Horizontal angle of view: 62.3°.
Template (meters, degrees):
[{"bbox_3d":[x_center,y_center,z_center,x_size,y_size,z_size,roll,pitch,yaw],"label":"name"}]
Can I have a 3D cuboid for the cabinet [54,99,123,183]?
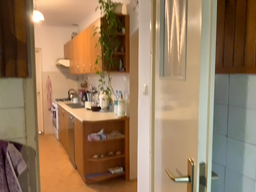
[{"bbox_3d":[-0.810,0.600,3.730,0.590,0.840,2.040,-3,7,-28],"label":"cabinet"}]

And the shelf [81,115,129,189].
[{"bbox_3d":[-0.290,0.700,2.760,0.590,0.840,0.170,-3,7,-28],"label":"shelf"}]

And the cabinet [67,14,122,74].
[{"bbox_3d":[-0.690,-0.770,3.690,0.300,0.760,1.990,-3,7,-28],"label":"cabinet"}]

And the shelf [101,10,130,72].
[{"bbox_3d":[-0.160,-0.680,2.720,0.300,0.730,0.220,-3,7,-28],"label":"shelf"}]
